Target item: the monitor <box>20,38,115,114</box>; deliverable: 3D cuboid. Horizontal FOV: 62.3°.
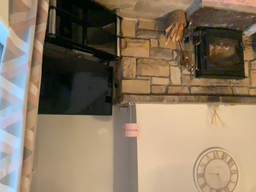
[{"bbox_3d":[-0.460,-0.120,1.910,0.040,0.540,0.950,-6,171,39],"label":"monitor"}]
